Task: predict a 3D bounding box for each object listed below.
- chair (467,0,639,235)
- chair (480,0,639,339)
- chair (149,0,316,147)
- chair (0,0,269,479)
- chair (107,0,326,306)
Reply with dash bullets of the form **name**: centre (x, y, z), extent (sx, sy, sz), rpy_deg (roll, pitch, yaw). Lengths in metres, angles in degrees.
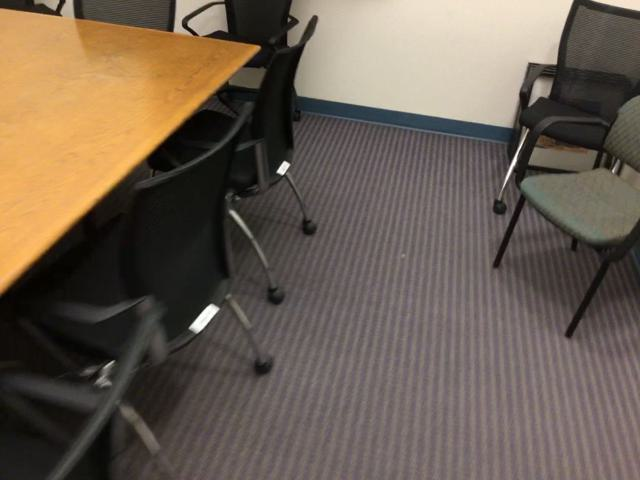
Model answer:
- **chair**: centre (1.130, -0.620, 2.660), extent (0.520, 0.900, 0.590), rpy_deg (24, 40, 23)
- **chair**: centre (1.130, -0.320, 2.000), extent (0.720, 1.170, 0.470), rpy_deg (-11, 40, -23)
- **chair**: centre (-0.460, -1.090, 3.200), extent (0.660, 0.840, 0.600), rpy_deg (17, 38, 14)
- **chair**: centre (-1.090, 0.020, 1.710), extent (1.260, 0.750, 2.380), rpy_deg (11, 36, 6)
- **chair**: centre (-0.340, -0.330, 2.160), extent (0.540, 0.910, 0.570), rpy_deg (11, 36, 6)
